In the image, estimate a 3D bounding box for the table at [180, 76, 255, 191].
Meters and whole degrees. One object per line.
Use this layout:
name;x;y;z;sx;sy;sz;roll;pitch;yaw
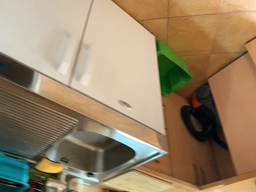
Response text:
table;0.710;0.320;1.710;0.410;0.920;0.230;28;133;-29

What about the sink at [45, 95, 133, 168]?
sink;-0.190;0.200;1.080;0.320;0.180;0.280;28;133;-29

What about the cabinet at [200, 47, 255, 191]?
cabinet;0.900;0.160;1.530;0.410;0.920;0.380;28;133;-29
